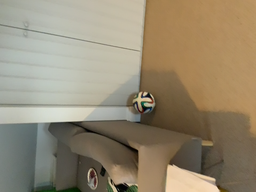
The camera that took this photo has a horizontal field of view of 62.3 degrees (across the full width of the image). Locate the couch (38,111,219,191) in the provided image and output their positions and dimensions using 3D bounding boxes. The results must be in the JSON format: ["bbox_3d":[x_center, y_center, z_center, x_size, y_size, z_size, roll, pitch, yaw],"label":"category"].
[{"bbox_3d":[-0.230,0.670,1.980,1.820,0.760,0.900,3,91,56],"label":"couch"}]
